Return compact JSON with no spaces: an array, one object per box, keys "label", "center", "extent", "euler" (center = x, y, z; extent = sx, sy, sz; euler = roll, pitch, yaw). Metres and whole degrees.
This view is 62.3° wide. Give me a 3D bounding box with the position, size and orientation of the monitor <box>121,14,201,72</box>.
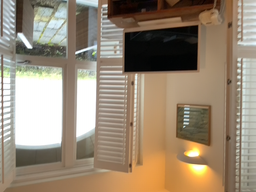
[{"label":"monitor","center":[0.290,-0.480,2.000],"extent":[0.740,0.490,0.040],"euler":[2,-179,21]}]
